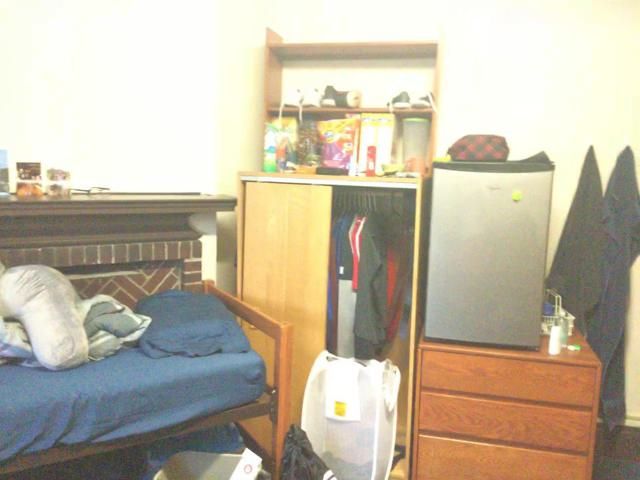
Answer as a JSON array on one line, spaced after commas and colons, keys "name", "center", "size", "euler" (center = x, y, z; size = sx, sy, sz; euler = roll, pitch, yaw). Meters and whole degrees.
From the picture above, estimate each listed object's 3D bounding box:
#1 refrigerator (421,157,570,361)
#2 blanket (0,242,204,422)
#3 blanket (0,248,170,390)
[{"name": "refrigerator", "center": [0.770, 0.040, 2.630], "size": [0.530, 0.810, 0.560], "euler": [4, 8, 13]}, {"name": "blanket", "center": [-1.430, 0.320, 2.000], "size": [1.850, 0.430, 0.810], "euler": [-3, 9, -31]}, {"name": "blanket", "center": [-1.400, 0.280, 2.020], "size": [1.530, 0.310, 0.780], "euler": [-3, 9, -31]}]
